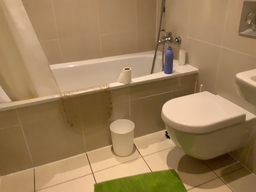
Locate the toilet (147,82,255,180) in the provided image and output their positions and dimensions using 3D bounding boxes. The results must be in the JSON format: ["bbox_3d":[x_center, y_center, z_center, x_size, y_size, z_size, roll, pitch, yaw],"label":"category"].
[{"bbox_3d":[0.480,0.210,1.490,0.580,0.410,0.380,-12,29,-18],"label":"toilet"}]

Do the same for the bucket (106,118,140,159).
[{"bbox_3d":[-0.040,0.340,1.720,0.230,0.220,0.170,-10,28,-15],"label":"bucket"}]
